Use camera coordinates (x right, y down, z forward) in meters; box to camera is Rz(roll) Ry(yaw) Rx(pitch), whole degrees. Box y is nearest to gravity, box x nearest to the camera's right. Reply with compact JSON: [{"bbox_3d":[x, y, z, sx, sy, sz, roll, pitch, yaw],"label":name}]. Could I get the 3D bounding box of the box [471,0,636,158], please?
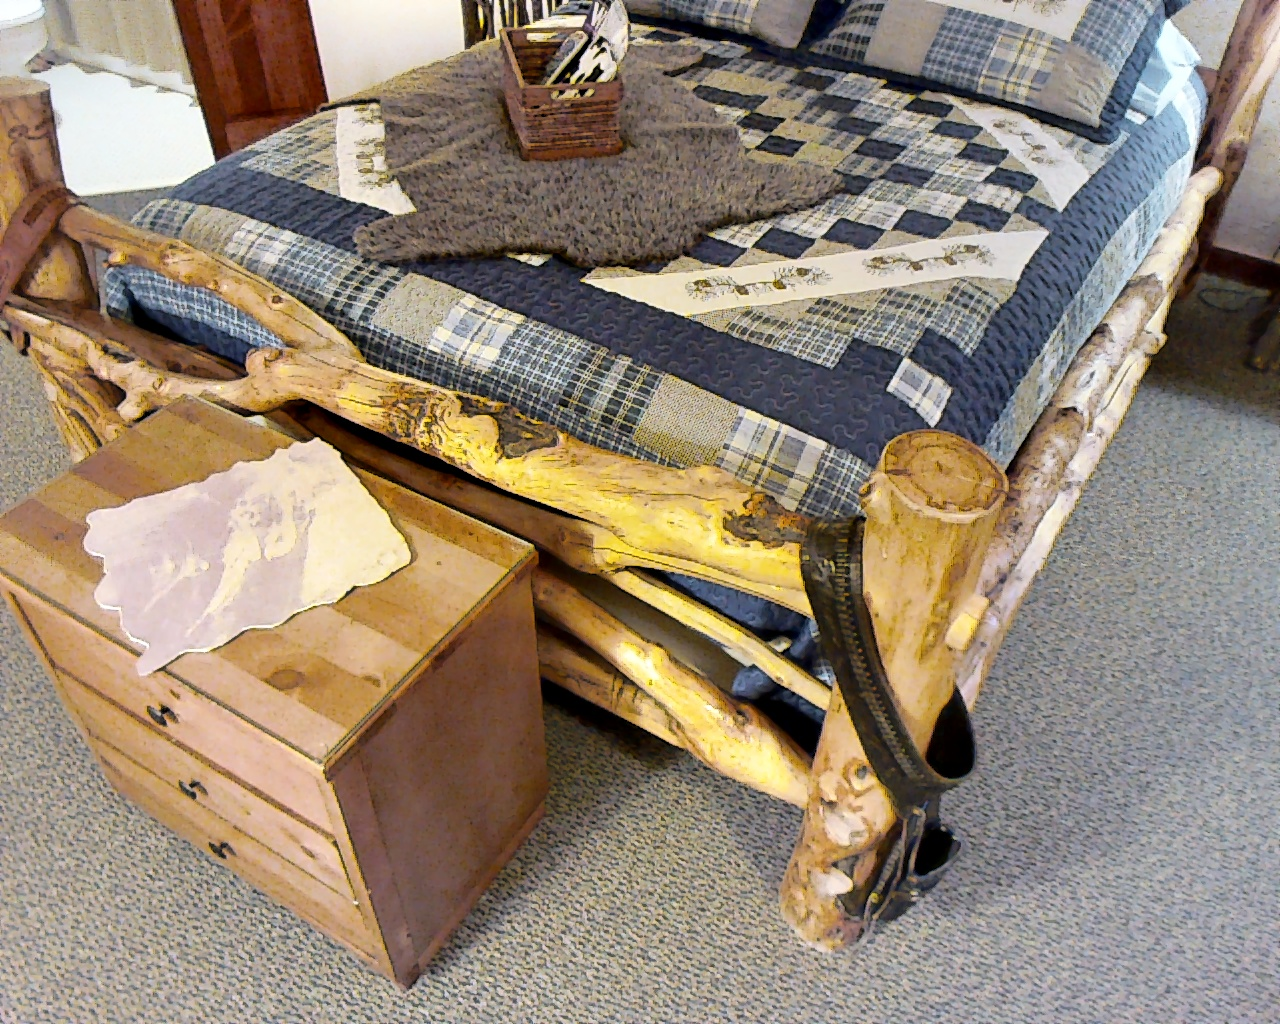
[{"bbox_3d":[-0.170,-0.860,2.080,0.260,0.200,0.320,-9,44,-10],"label":"box"}]
